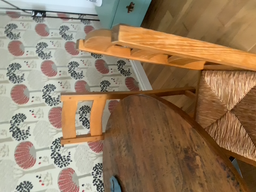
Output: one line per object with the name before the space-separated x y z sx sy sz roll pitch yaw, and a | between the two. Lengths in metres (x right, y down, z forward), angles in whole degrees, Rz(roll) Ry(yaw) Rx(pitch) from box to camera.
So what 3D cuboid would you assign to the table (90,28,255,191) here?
table | 0.420 0.520 1.130 1.170 0.780 1.180 68 150 28
